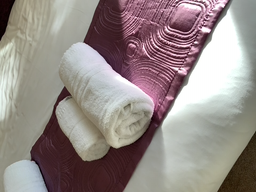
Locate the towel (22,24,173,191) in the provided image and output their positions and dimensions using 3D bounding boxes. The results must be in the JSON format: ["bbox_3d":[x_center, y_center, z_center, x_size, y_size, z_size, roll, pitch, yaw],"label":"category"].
[{"bbox_3d":[-0.120,0.010,0.620,0.370,0.130,0.310,36,102,36],"label":"towel"}]
